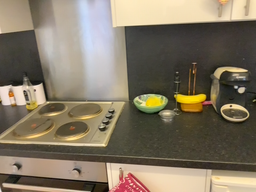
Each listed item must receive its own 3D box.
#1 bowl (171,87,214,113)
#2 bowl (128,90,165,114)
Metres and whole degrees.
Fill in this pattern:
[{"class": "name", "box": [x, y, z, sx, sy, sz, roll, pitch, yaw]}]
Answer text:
[{"class": "bowl", "box": [0.380, 0.020, 1.280, 0.230, 0.100, 0.150, 1, 21, 11]}, {"class": "bowl", "box": [0.120, 0.030, 1.300, 0.210, 0.070, 0.200, 1, 21, 9]}]
